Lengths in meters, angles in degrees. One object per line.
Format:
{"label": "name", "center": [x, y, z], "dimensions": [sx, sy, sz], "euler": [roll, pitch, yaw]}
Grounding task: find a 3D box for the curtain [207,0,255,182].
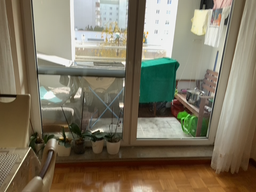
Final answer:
{"label": "curtain", "center": [1.330, -0.380, 2.250], "dimensions": [0.480, 2.650, 0.460], "euler": [9, 19, 16]}
